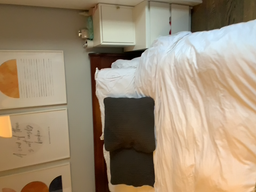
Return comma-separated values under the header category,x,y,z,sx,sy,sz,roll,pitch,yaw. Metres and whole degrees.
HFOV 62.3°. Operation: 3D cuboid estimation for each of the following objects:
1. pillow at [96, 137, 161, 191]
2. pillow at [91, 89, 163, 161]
category,x,y,z,sx,sy,sz,roll,pitch,yaw
pillow,0.010,0.630,1.850,0.380,0.420,0.130,-58,27,-5
pillow,0.000,0.240,1.740,0.450,0.410,0.140,-62,27,-2
